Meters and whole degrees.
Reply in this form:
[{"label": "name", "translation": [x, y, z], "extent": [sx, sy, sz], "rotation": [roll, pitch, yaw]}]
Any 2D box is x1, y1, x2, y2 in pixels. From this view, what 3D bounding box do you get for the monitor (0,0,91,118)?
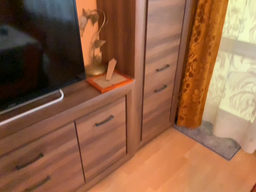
[{"label": "monitor", "translation": [-0.600, -0.170, 1.010], "extent": [0.920, 0.550, 0.060], "rotation": [-27, 42, -36]}]
